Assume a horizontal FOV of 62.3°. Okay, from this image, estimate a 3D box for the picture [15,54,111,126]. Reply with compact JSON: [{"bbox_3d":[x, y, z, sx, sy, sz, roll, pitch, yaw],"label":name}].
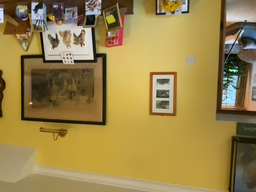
[{"bbox_3d":[-0.820,-0.090,2.590,1.240,0.810,0.090,2,-177,14],"label":"picture"}]
